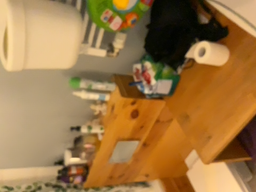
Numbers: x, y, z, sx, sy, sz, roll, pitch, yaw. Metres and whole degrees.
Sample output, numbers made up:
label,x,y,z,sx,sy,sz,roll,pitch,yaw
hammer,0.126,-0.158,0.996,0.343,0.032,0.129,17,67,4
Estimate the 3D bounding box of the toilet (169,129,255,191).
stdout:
label,x,y,z,sx,sy,sz,roll,pitch,yaw
toilet,0.670,0.550,1.560,0.350,0.440,0.500,-66,33,34
